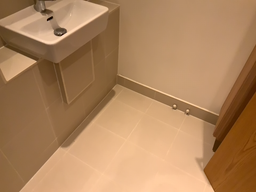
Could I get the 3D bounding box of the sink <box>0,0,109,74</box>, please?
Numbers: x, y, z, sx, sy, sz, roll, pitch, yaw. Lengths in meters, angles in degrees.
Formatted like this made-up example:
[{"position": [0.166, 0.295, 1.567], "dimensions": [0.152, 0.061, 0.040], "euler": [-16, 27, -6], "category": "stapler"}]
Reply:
[{"position": [-0.360, -0.350, 1.120], "dimensions": [0.330, 0.140, 0.450], "euler": [23, 48, 17], "category": "sink"}]
